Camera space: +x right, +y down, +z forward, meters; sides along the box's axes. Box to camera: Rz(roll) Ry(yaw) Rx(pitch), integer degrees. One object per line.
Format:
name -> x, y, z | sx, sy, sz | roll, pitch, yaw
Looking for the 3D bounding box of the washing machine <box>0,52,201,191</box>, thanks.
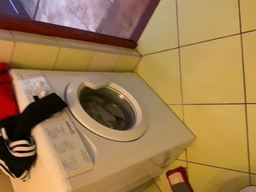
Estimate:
washing machine -> -0.170, 0.200, 1.150 | 0.610, 0.820, 0.520 | 51, 124, 29
